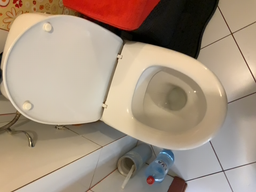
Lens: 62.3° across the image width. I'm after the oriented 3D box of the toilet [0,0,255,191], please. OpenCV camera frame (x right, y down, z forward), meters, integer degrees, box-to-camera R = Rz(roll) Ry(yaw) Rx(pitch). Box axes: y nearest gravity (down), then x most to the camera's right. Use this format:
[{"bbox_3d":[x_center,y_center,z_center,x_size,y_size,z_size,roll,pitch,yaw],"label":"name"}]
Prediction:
[{"bbox_3d":[0.000,-0.040,0.820,0.710,0.780,0.360,23,99,20],"label":"toilet"}]
